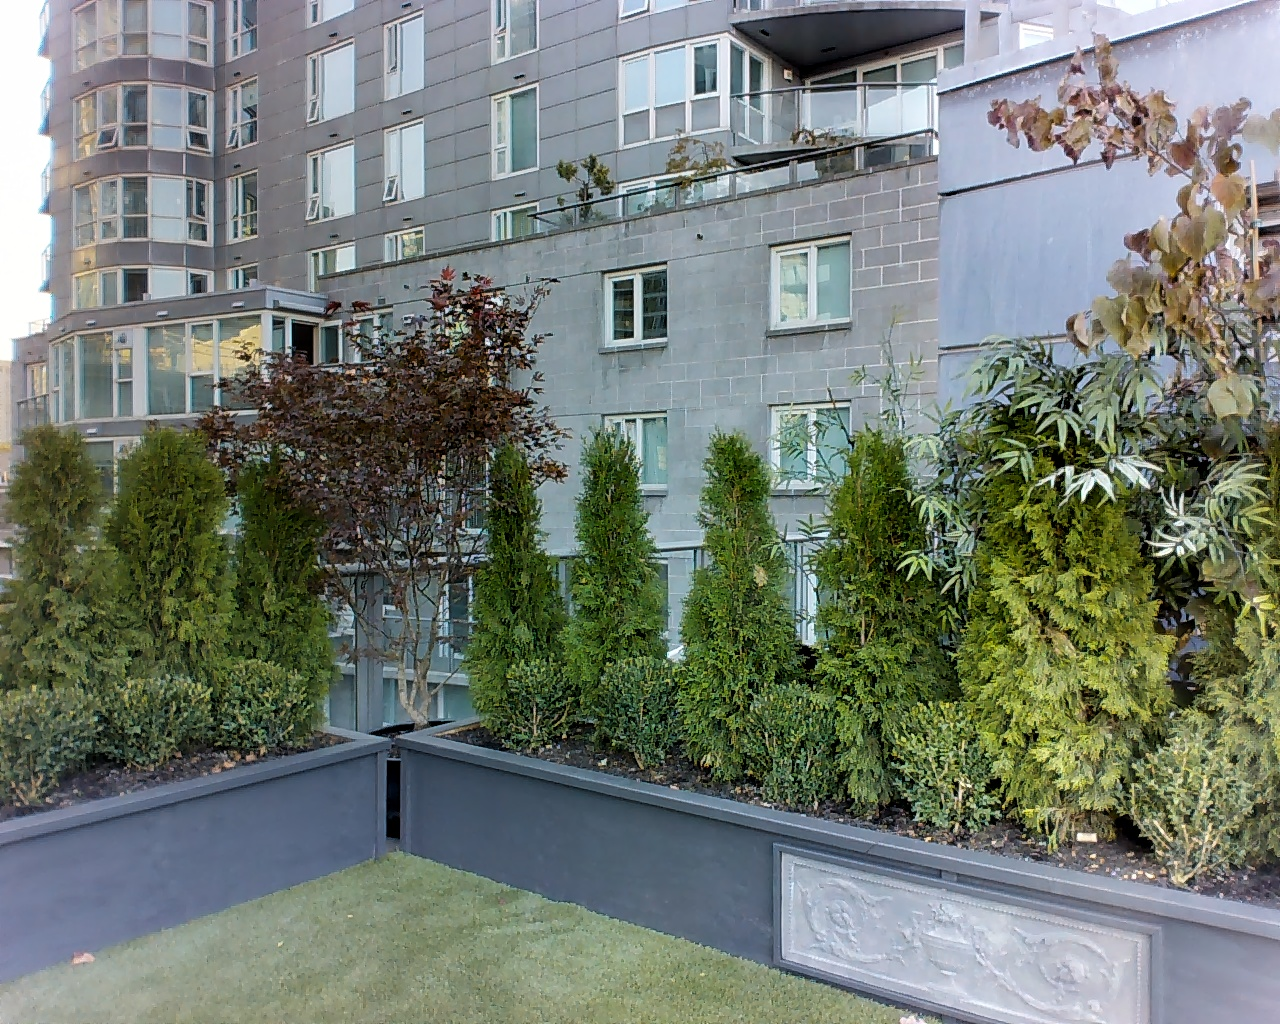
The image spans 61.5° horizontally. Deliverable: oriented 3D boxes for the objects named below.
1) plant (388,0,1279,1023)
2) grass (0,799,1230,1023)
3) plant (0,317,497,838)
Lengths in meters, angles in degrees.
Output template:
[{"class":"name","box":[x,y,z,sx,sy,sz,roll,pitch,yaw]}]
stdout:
[{"class":"plant","box":[1.290,-0.250,3.330,4.519,2.831,1.520,1,1,38]},{"class":"grass","box":[0.300,1.330,1.820,5.629,0.130,2.710,1,1,38]},{"class":"plant","box":[-1.570,0.170,3.740,0.720,1.420,2.280,1,1,38]}]
